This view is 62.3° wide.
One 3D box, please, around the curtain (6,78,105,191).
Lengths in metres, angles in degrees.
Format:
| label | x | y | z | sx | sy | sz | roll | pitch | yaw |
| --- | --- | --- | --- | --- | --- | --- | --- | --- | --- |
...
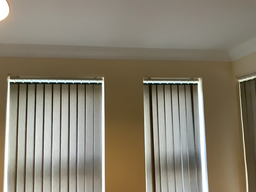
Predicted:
| label | x | y | z | sx | sy | sz | roll | pitch | yaw |
| --- | --- | --- | --- | --- | --- | --- | --- | --- | --- |
| curtain | -0.640 | 0.560 | 1.940 | 0.860 | 1.450 | 0.030 | 0 | -6 | -7 |

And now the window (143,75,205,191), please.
| label | x | y | z | sx | sy | sz | roll | pitch | yaw |
| --- | --- | --- | --- | --- | --- | --- | --- | --- | --- |
| window | 0.460 | 0.620 | 2.110 | 0.590 | 1.660 | 0.040 | 0 | -6 | -7 |
